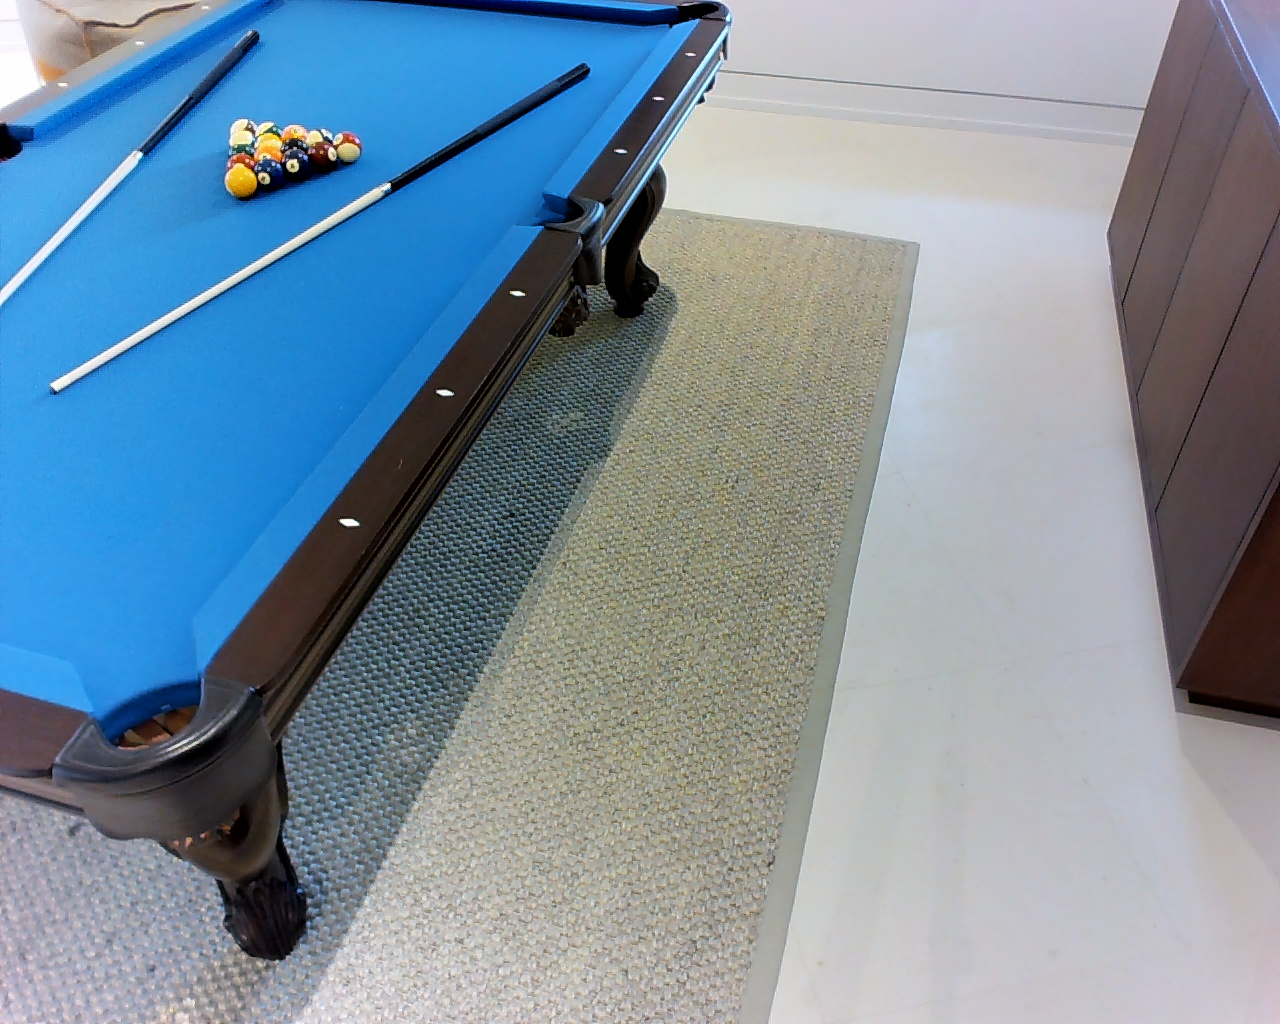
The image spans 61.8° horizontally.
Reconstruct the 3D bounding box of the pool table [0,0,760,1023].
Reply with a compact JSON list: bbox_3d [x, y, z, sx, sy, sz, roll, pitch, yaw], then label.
[{"bbox_3d":[-0.700,-0.350,2.270,1.380,0.830,2.540,10,42,12],"label":"pool table"}]
